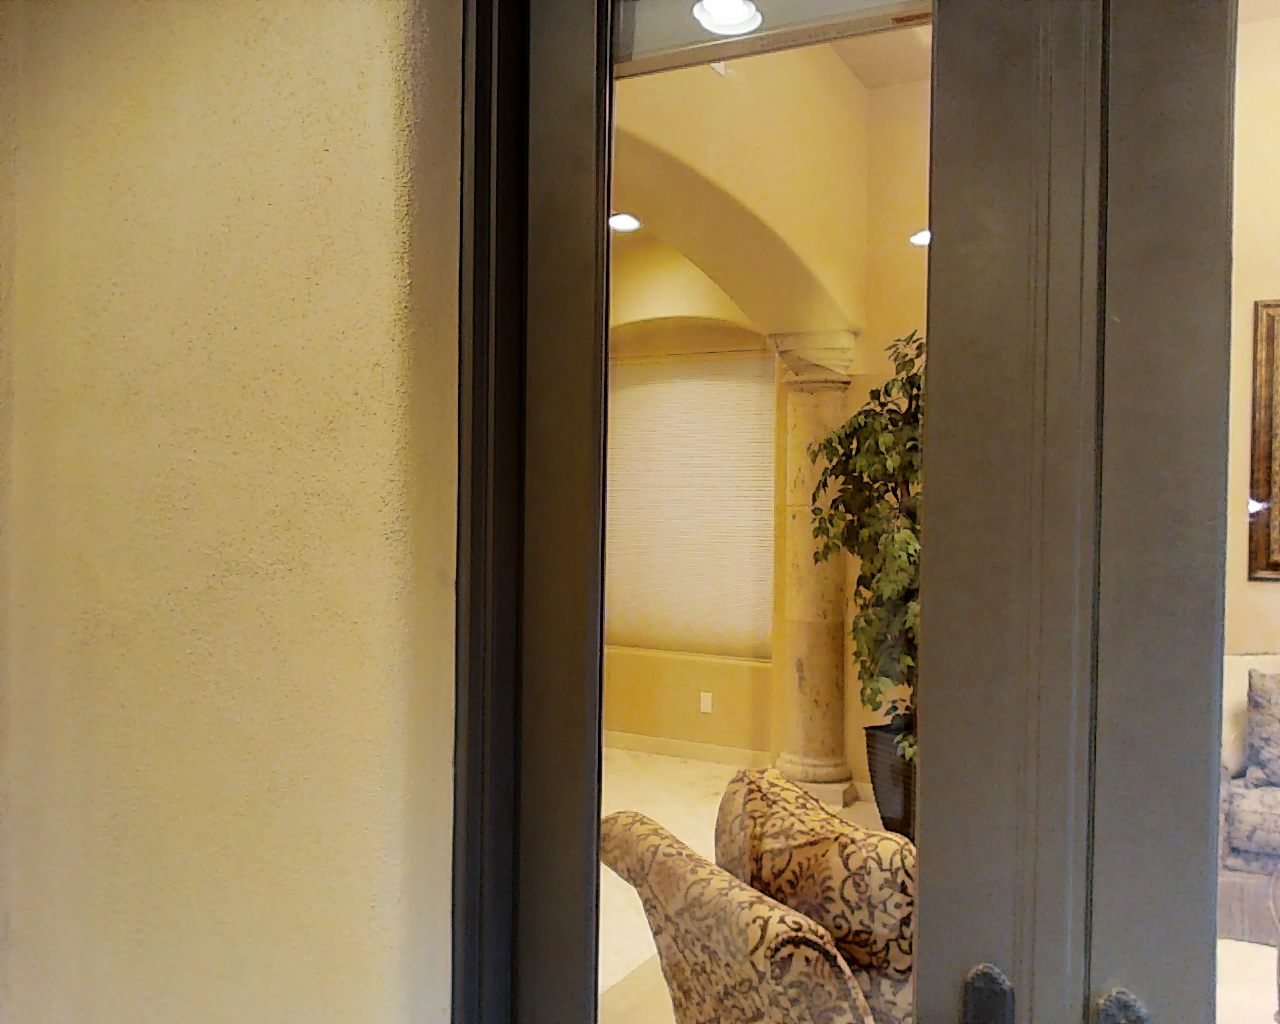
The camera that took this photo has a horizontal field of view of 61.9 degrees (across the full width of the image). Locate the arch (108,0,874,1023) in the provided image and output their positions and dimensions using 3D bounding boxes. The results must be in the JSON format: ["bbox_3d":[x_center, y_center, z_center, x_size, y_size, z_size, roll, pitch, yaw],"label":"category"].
[{"bbox_3d":[0.050,0.160,3.880,0.420,2.700,4.030,1,1,29],"label":"arch"}]
